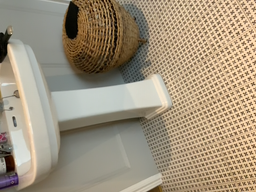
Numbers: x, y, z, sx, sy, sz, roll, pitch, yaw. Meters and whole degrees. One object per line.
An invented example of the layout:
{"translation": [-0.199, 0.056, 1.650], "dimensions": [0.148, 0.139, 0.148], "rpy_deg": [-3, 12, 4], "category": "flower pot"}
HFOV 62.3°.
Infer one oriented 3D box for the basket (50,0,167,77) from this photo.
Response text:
{"translation": [-0.140, -0.430, 1.370], "dimensions": [0.440, 0.490, 0.430], "rpy_deg": [-38, 67, 45], "category": "basket"}
